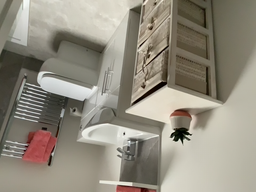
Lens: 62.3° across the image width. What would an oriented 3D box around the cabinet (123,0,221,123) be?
[{"bbox_3d":[0.230,-0.320,1.200,0.280,0.840,0.410,16,155,-23],"label":"cabinet"}]
